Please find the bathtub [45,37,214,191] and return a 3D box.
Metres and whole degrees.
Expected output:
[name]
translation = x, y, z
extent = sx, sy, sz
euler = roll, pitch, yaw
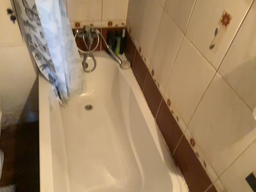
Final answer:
[bathtub]
translation = -0.140, 0.230, 1.490
extent = 0.710, 0.550, 1.380
euler = -9, 49, -14
